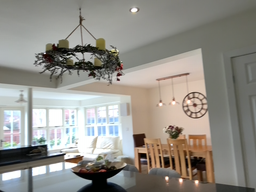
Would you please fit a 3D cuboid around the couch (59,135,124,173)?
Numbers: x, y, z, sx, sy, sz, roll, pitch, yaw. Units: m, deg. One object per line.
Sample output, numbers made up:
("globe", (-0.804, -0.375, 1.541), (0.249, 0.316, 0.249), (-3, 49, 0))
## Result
("couch", (-1.210, 1.720, 6.650), (2.100, 0.920, 0.880), (-9, -9, 41))
